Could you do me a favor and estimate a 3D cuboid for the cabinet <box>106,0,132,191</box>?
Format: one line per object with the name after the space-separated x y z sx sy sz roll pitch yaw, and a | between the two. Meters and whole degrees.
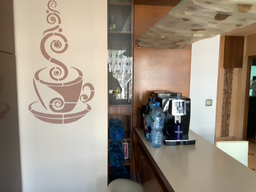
-0.110 0.140 2.160 0.220 2.430 0.530 0 6 -6 | cabinet
